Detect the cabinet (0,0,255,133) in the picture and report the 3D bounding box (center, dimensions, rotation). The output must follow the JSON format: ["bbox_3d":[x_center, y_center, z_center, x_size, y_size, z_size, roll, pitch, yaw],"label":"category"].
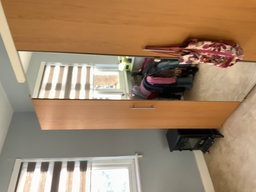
[{"bbox_3d":[0.150,-0.350,1.980,1.540,2.030,0.660,101,167,-48],"label":"cabinet"}]
